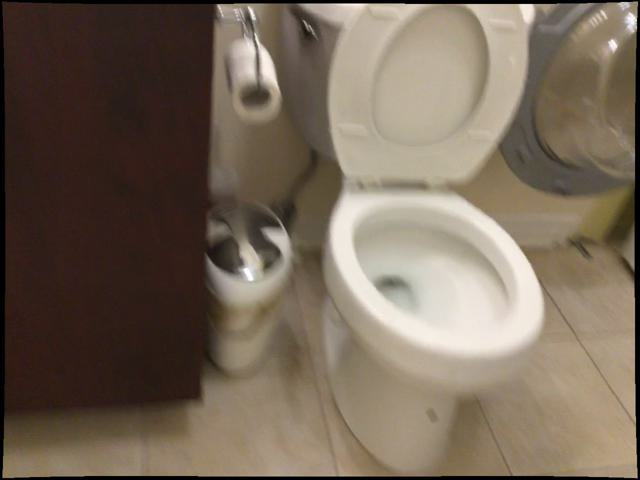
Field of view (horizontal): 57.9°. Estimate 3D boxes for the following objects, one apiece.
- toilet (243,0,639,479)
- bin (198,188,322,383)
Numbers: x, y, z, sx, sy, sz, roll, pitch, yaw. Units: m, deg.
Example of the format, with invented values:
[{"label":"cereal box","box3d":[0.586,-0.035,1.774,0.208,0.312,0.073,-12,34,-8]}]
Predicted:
[{"label":"toilet","box3d":[0.170,-0.070,1.090,0.510,0.770,0.700,0,41,-14]},{"label":"bin","box3d":[-0.140,0.090,1.180,0.200,0.290,0.260,0,41,-14]}]
